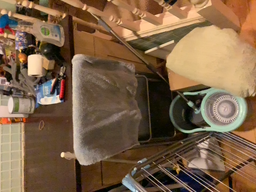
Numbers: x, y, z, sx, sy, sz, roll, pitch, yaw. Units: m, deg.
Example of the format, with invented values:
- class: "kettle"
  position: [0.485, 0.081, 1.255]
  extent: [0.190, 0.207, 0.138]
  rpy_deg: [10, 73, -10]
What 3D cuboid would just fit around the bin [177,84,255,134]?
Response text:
- class: "bin"
  position: [0.520, 0.090, 1.240]
  extent: [0.360, 0.240, 0.240]
  rpy_deg: [-11, 80, 44]
